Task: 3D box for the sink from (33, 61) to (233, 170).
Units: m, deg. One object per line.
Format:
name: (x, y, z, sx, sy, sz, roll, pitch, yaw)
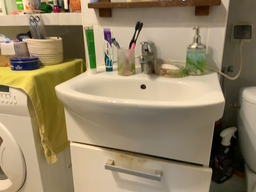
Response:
sink: (0.040, 0.010, 0.740, 0.530, 0.160, 0.400, 6, 21, 18)
